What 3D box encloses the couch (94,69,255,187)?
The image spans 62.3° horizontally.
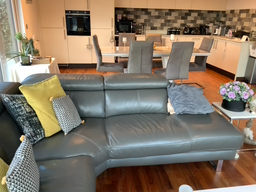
[{"bbox_3d":[0.330,0.210,2.220,1.320,0.750,1.030,-2,21,-9],"label":"couch"}]

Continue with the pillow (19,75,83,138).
[{"bbox_3d":[-0.670,0.070,1.900,0.150,0.470,0.460,32,16,7],"label":"pillow"}]
